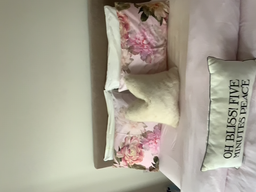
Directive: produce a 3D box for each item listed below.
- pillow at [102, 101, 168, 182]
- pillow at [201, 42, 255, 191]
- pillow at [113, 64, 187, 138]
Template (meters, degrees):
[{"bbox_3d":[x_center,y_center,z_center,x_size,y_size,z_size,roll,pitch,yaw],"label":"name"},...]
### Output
[{"bbox_3d":[0.080,0.400,1.910,0.150,0.440,0.560,19,129,64],"label":"pillow"},{"bbox_3d":[0.490,0.090,1.030,0.160,0.200,0.660,-168,75,-66],"label":"pillow"},{"bbox_3d":[0.170,0.020,1.630,0.250,0.390,0.400,15,131,64],"label":"pillow"}]
